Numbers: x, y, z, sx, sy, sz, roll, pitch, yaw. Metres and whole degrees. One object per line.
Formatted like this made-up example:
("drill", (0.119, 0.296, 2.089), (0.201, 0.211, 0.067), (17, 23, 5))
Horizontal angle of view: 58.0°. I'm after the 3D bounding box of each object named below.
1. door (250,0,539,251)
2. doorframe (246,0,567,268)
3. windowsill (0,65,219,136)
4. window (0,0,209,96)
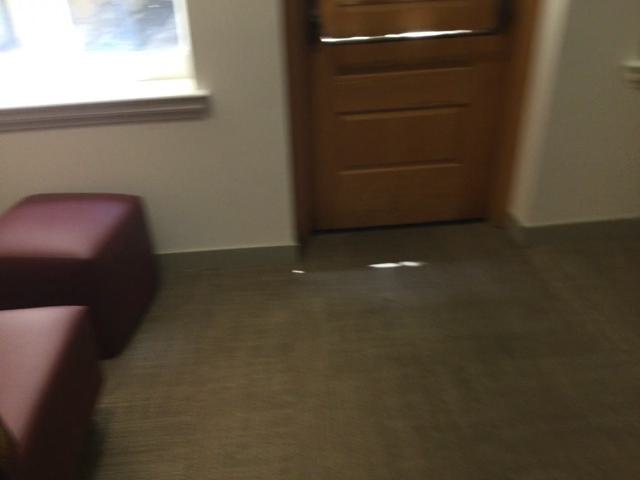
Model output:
("door", (0.290, -0.650, 2.400), (1.030, 1.310, 0.390), (-4, 29, 2))
("doorframe", (0.320, -0.540, 2.240), (1.080, 1.290, 0.250), (-4, 29, 2))
("windowsill", (-0.930, -0.530, 2.220), (1.030, 0.150, 0.240), (-4, 29, 2))
("window", (-0.960, -0.800, 2.270), (0.960, 0.370, 0.200), (-4, 29, 2))
